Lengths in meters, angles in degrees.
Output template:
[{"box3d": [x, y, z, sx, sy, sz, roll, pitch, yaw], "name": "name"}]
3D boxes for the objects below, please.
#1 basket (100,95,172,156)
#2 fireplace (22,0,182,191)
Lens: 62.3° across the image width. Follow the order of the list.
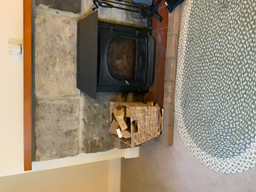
[{"box3d": [0.050, 0.190, 1.590, 0.340, 0.400, 0.360, 14, 103, 61], "name": "basket"}, {"box3d": [-0.190, -0.290, 1.450, 0.510, 0.940, 1.710, 11, 100, 61], "name": "fireplace"}]
